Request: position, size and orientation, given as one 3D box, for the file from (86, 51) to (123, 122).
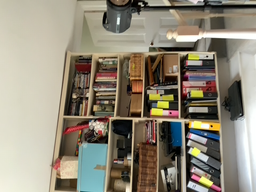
[{"bbox_3d":[-0.280,-0.120,2.720,0.310,0.350,0.840,75,-163,-72],"label":"file"}]
